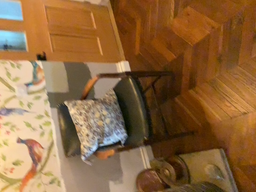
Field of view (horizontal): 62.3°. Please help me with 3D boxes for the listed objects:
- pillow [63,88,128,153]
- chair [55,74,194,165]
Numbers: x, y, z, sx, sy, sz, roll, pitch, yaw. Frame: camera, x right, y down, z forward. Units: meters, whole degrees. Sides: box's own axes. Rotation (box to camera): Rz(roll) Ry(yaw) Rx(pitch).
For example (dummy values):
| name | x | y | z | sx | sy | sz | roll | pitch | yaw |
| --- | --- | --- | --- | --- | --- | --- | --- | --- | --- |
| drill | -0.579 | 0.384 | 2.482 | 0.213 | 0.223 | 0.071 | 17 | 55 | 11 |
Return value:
| name | x | y | z | sx | sy | sz | roll | pitch | yaw |
| --- | --- | --- | --- | --- | --- | --- | --- | --- | --- |
| pillow | -0.270 | 0.190 | 1.690 | 0.320 | 0.340 | 0.400 | -36 | 65 | 51 |
| chair | -0.050 | 0.180 | 1.750 | 0.620 | 0.860 | 0.500 | -36 | 65 | 51 |
